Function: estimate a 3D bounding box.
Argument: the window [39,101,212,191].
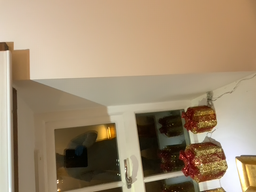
[{"bbox_3d":[0.030,0.480,1.210,0.050,0.970,0.860,140,125,-69],"label":"window"}]
